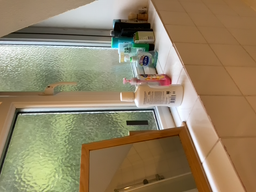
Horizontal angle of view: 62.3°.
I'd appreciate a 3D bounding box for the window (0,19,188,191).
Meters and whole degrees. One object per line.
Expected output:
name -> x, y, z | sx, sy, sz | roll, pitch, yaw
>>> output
window -> -0.350, 0.010, 0.840 | 0.070, 0.950, 1.150 | 99, 166, -45
